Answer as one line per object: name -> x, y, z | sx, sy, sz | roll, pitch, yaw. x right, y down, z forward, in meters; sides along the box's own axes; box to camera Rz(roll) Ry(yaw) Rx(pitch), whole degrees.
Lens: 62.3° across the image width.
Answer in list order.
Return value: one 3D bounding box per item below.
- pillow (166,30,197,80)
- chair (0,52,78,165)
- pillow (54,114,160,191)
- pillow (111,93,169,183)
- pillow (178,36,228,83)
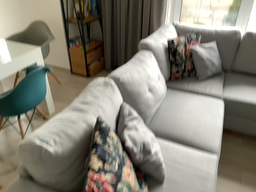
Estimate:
pillow -> 0.570, -0.450, 2.250 | 0.250, 0.350, 0.500 | 8, 33, 14
chair -> -0.930, 0.070, 1.970 | 0.550, 0.680, 0.670 | 15, 35, 20
pillow -> -0.040, 0.400, 0.950 | 0.190, 0.490, 0.360 | -24, 21, 16
pillow -> 0.050, 0.220, 1.250 | 0.150, 0.330, 0.410 | -29, 20, 6
pillow -> 0.790, -0.380, 2.240 | 0.340, 0.340, 0.260 | -36, 22, -20
